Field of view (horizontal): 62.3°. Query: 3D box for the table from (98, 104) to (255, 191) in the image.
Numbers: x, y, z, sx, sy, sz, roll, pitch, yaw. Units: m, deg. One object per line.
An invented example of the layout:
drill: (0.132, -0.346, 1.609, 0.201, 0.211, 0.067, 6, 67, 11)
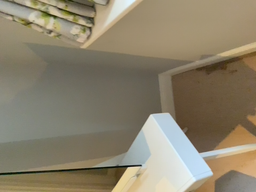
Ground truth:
table: (0.300, 0.520, 1.310, 0.340, 0.760, 0.950, 58, 136, 38)
